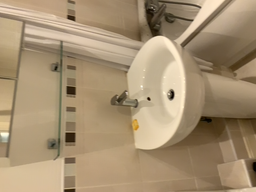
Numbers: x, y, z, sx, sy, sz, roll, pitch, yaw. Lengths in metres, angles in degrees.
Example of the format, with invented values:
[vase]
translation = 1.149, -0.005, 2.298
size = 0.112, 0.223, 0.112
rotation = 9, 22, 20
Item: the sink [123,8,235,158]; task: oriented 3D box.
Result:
[sink]
translation = 0.190, -0.030, 1.090
size = 0.490, 0.200, 0.580
rotation = 134, 136, -54
